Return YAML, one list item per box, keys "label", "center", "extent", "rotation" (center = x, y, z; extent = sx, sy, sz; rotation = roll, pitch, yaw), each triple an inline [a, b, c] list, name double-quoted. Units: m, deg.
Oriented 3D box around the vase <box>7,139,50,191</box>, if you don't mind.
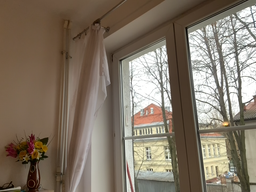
- label: "vase"
  center: [-0.660, 0.450, 1.410]
  extent: [0.210, 0.300, 0.240]
  rotation: [6, -15, -33]
